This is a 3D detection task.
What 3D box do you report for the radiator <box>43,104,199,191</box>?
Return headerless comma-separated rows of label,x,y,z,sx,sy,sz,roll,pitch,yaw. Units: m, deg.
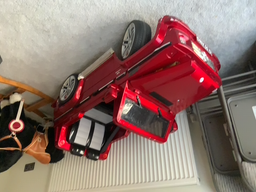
radiator,-0.150,0.540,1.940,1.430,0.610,0.120,-16,143,22
